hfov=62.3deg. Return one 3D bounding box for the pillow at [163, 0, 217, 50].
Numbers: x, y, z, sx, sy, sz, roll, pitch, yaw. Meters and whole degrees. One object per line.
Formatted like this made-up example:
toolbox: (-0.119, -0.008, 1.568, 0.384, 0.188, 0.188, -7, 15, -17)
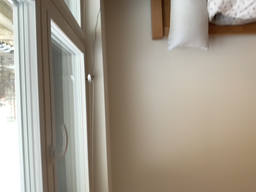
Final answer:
pillow: (0.540, -0.660, 1.910, 0.390, 0.430, 0.240, -3, 179, -2)
